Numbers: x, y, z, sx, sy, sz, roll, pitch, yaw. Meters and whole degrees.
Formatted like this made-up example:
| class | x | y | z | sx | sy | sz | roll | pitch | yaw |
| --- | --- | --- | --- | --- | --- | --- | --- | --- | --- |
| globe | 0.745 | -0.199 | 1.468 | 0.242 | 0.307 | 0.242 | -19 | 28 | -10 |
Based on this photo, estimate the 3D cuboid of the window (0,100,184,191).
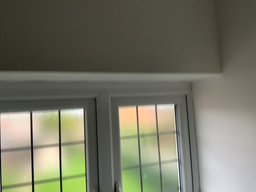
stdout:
| class | x | y | z | sx | sy | sz | roll | pitch | yaw |
| --- | --- | --- | --- | --- | --- | --- | --- | --- | --- |
| window | -0.130 | 0.450 | 1.010 | 0.990 | 0.830 | 0.040 | -1 | -3 | -28 |
